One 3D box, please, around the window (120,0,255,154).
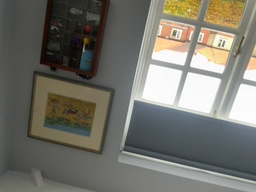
[{"bbox_3d":[0.940,-0.120,1.370,1.810,1.010,0.200,14,-163,2],"label":"window"}]
